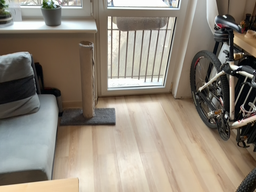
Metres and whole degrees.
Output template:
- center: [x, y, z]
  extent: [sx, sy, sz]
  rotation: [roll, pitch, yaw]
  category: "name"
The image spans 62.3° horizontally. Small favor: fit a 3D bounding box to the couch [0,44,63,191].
- center: [-0.840, 0.180, 1.430]
  extent: [0.630, 0.760, 0.860]
  rotation: [-3, 36, -11]
  category: "couch"
